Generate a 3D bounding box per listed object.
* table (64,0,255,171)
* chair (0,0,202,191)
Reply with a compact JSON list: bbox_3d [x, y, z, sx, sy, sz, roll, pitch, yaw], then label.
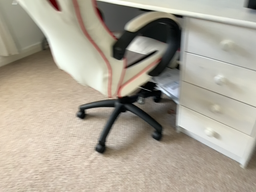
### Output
[{"bbox_3d":[0.290,-0.320,1.360,1.250,0.740,0.670,27,48,35],"label":"table"},{"bbox_3d":[-0.140,-0.290,1.030,0.720,1.230,0.640,-33,46,-31],"label":"chair"}]
